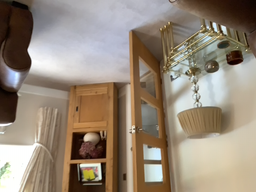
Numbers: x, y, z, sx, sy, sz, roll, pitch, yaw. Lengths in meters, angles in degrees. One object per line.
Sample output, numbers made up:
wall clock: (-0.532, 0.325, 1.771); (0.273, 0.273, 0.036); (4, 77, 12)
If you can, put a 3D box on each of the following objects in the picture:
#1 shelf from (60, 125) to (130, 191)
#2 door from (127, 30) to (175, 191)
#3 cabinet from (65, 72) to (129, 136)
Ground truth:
shelf: (-0.470, 1.180, 2.940); (0.730, 1.370, 0.720); (10, 157, -29)
door: (0.230, 0.390, 2.000); (0.110, 1.940, 0.690); (-12, 157, 28)
cabinet: (-0.490, 0.180, 3.310); (0.730, 0.740, 0.720); (10, 157, -29)
